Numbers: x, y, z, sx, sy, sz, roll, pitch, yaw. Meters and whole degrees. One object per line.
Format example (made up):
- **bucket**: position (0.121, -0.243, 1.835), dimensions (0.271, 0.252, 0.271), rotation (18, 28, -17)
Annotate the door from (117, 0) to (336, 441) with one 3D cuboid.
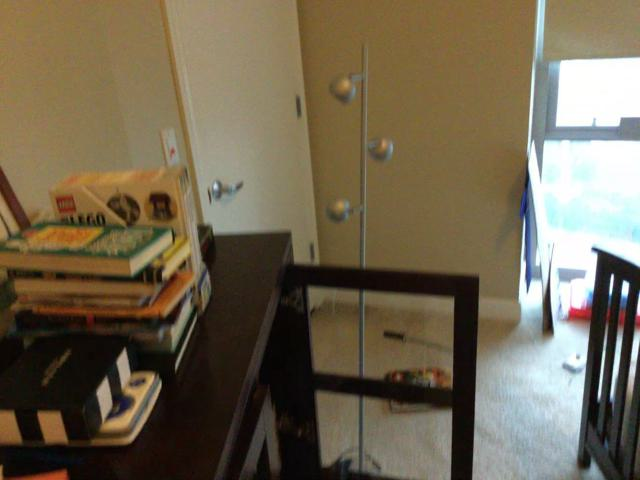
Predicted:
- **door**: position (-0.280, -0.420, 2.210), dimensions (0.170, 2.090, 1.000), rotation (0, 22, 19)
